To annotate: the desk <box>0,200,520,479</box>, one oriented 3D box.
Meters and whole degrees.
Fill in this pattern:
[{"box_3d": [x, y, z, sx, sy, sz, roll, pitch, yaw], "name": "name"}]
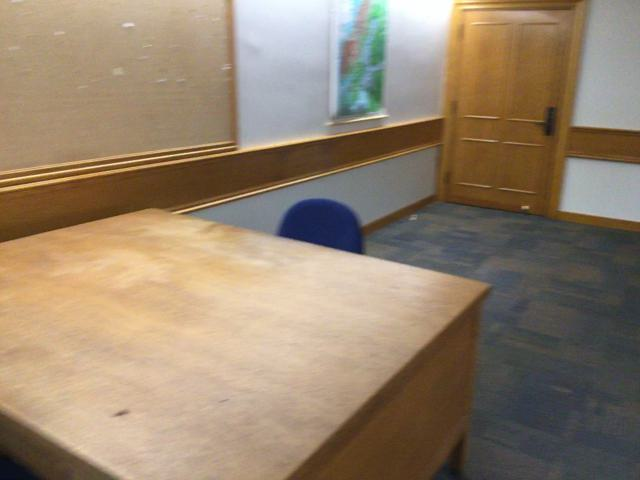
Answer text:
[{"box_3d": [-0.480, 0.500, 1.900, 1.800, 0.860, 1.460, 2, 21, 34], "name": "desk"}]
